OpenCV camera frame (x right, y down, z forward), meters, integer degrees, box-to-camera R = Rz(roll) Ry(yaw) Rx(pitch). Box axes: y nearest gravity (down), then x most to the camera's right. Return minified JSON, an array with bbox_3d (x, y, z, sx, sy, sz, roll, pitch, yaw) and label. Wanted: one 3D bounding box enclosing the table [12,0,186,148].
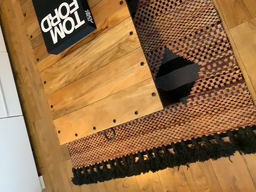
[{"bbox_3d":[-0.250,-0.450,1.230,0.650,0.360,1.300,-23,82,27],"label":"table"}]
